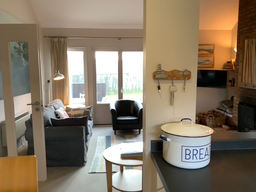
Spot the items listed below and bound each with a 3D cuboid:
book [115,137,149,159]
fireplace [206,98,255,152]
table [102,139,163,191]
[{"bbox_3d":[0.030,0.550,2.290,0.330,0.080,0.410,-1,7,-2],"label":"book"},{"bbox_3d":[2.330,0.500,4.220,1.060,0.770,1.140,-1,8,-6],"label":"fireplace"},{"bbox_3d":[0.020,0.860,2.280,0.560,0.600,0.630,-1,8,-5],"label":"table"}]
